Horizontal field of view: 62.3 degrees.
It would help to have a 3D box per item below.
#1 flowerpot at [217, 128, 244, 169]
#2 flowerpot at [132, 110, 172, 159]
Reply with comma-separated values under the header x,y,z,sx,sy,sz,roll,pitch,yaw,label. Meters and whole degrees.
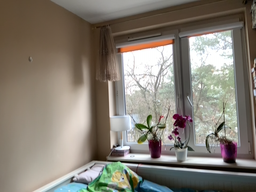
x,y,z,sx,sy,sz,roll,pitch,yaw,label
0.980,0.490,2.040,0.200,0.330,0.240,-3,-1,21,flowerpot
0.290,0.430,2.480,0.360,0.500,0.330,-3,-1,22,flowerpot
